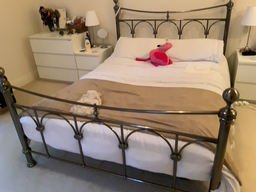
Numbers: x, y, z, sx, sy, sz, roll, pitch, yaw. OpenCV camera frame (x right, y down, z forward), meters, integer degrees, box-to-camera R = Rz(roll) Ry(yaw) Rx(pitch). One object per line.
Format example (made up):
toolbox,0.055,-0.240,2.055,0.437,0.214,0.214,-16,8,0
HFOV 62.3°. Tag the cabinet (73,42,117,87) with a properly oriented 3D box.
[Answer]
cabinet,-0.500,-0.510,3.350,0.420,0.540,0.520,7,30,20

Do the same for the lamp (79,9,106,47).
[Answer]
lamp,-0.530,-1.040,3.230,0.230,0.510,0.270,8,30,21

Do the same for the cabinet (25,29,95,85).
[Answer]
cabinet,-1.080,-0.670,3.510,0.810,0.760,0.530,7,30,20
